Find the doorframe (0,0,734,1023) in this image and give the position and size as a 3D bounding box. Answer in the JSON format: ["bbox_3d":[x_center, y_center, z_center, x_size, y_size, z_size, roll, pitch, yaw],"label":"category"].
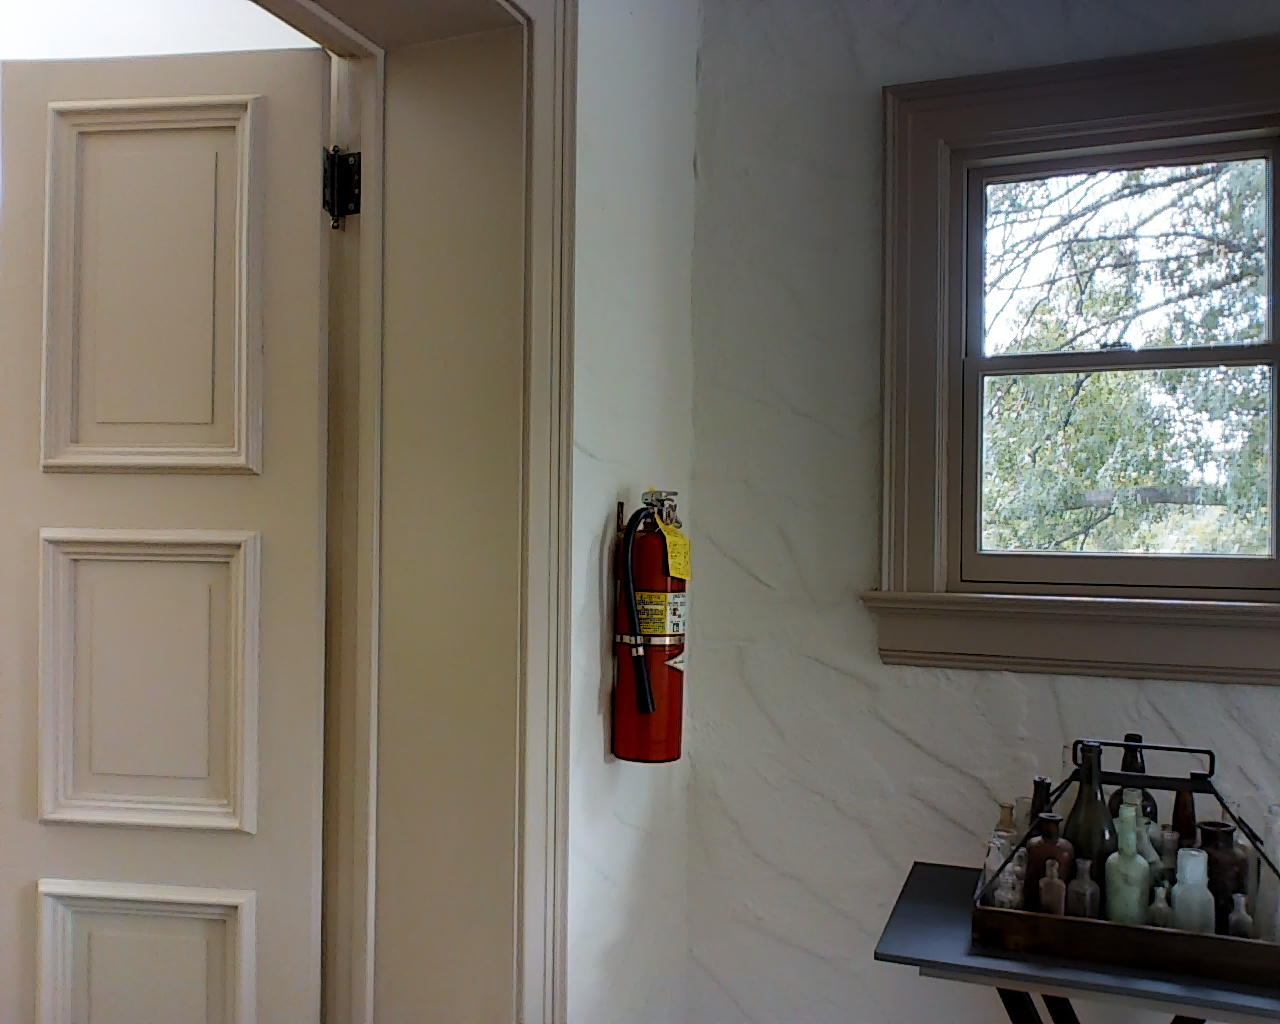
[{"bbox_3d":[-0.380,0.140,1.050,0.100,2.720,2.850,0,0,22],"label":"doorframe"}]

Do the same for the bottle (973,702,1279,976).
[{"bbox_3d":[0.850,0.520,1.800,0.520,0.300,0.410,0,0,22],"label":"bottle"}]

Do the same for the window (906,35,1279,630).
[{"bbox_3d":[0.980,-0.330,2.120,0.860,1.090,0.150,0,0,22],"label":"window"}]
